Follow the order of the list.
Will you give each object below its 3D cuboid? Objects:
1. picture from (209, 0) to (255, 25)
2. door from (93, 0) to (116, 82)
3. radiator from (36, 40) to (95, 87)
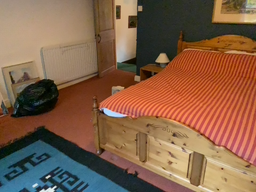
[{"bbox_3d":[1.530,-1.270,2.870,0.760,0.570,0.030,16,27,32],"label":"picture"},{"bbox_3d":[-0.480,-1.400,4.540,0.070,2.080,0.690,11,25,24],"label":"door"},{"bbox_3d":[-1.120,-0.660,4.050,0.140,0.660,1.210,16,27,32],"label":"radiator"}]
